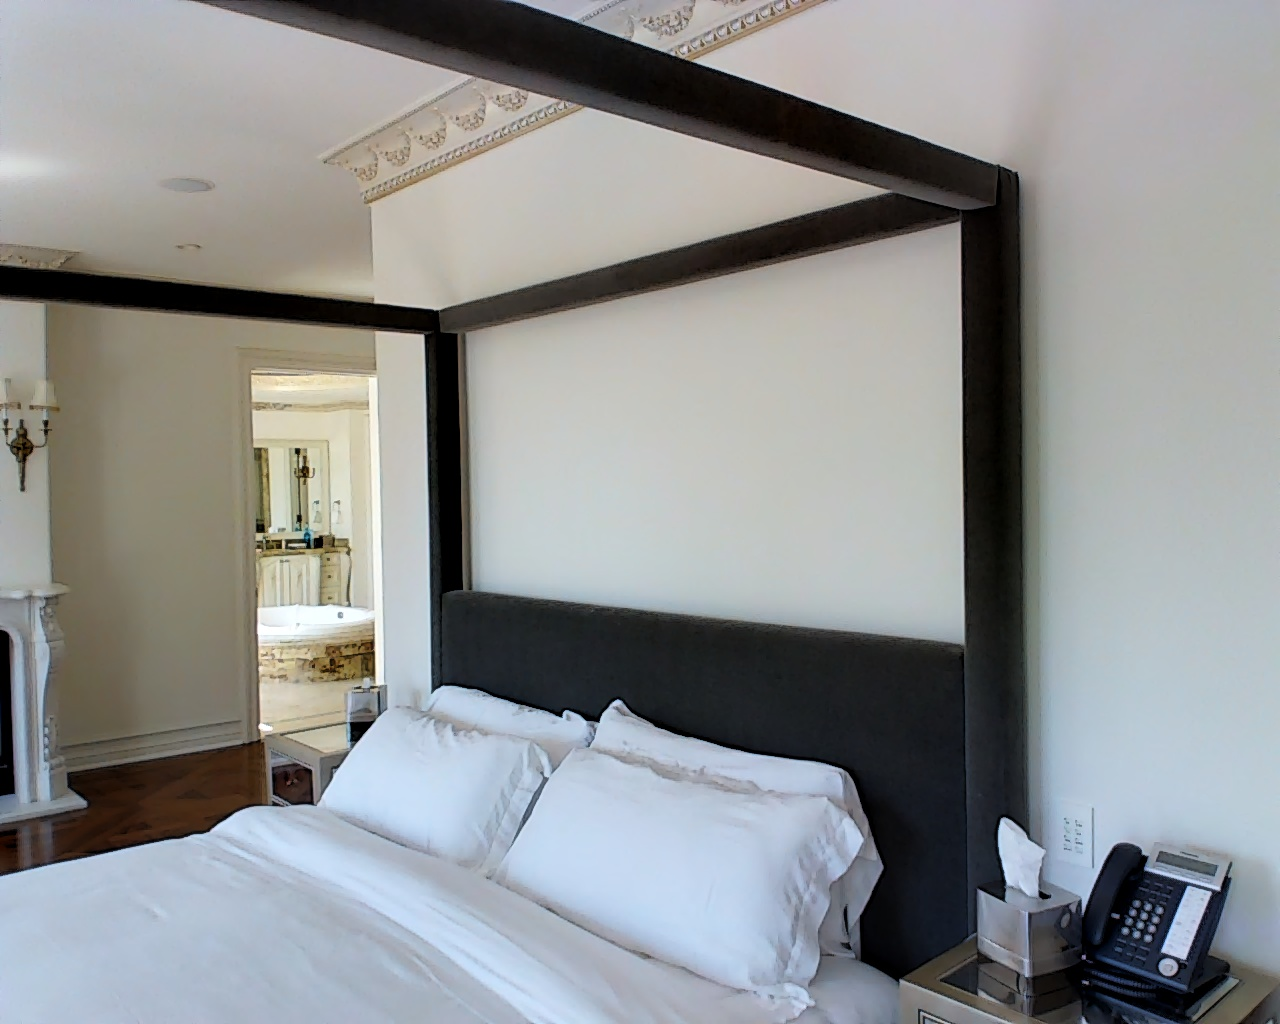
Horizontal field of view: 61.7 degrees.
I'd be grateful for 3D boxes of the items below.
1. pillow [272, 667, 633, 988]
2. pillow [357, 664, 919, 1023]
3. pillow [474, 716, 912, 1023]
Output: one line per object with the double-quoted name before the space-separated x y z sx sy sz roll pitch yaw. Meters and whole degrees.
"pillow" -0.580 0.880 3.160 0.420 0.640 0.980 29 -19 -37
"pillow" -0.160 0.850 2.930 0.230 0.630 1.900 18 -12 -40
"pillow" 0.080 0.790 2.430 0.310 0.440 0.940 30 -19 -39
